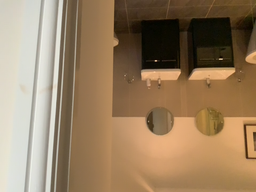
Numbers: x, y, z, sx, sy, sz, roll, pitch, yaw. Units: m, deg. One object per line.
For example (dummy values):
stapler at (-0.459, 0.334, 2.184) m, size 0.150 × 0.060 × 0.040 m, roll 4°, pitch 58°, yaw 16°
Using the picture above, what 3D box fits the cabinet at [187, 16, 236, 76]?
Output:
cabinet at (1.280, -0.760, 3.340) m, size 0.580 × 0.800 × 0.440 m, roll 0°, pitch 170°, yaw 4°
